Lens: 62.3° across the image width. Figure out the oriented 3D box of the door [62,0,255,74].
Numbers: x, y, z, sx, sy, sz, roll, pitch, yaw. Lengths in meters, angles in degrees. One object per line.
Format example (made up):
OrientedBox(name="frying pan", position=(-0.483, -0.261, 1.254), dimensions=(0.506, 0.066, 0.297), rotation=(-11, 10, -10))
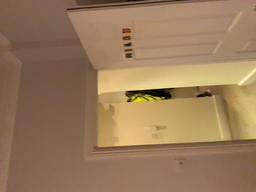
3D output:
OrientedBox(name="door", position=(0.620, -0.420, 1.590), dimensions=(0.880, 1.950, 0.080), rotation=(81, -175, -77))
